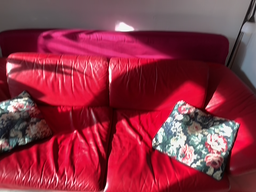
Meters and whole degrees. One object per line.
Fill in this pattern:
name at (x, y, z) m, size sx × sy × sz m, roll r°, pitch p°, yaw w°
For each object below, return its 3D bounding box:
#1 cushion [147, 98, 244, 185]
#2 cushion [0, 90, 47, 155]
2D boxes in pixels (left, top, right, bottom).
cushion at (0.490, 0.270, 1.510) m, size 0.490 × 0.080 × 0.540 m, roll 27°, pitch 42°, yaw 28°
cushion at (-0.890, 0.190, 1.460) m, size 0.480 × 0.090 × 0.490 m, roll -21°, pitch 43°, yaw -30°
